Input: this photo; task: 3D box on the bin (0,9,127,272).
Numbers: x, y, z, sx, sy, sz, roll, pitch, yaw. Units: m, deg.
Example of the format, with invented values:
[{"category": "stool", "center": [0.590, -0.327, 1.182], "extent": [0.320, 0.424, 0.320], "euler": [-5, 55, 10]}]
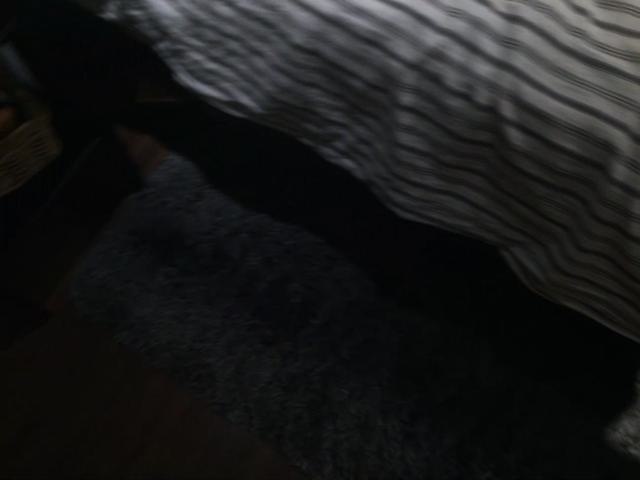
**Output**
[{"category": "bin", "center": [-0.630, -0.180, 1.000], "extent": [0.320, 0.400, 0.250], "euler": [35, -13, 12]}]

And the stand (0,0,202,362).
[{"category": "stand", "center": [-0.650, -0.190, 0.970], "extent": [0.500, 0.550, 0.670], "euler": [35, -10, 12]}]
